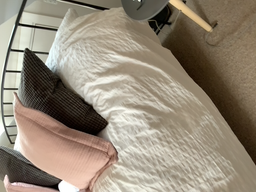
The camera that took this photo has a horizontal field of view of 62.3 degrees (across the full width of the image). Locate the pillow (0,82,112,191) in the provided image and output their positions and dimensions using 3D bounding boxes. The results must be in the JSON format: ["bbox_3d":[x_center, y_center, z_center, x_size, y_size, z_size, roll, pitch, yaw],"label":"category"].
[{"bbox_3d":[-0.340,0.260,1.000,0.170,0.470,0.490,36,139,4],"label":"pillow"}]
